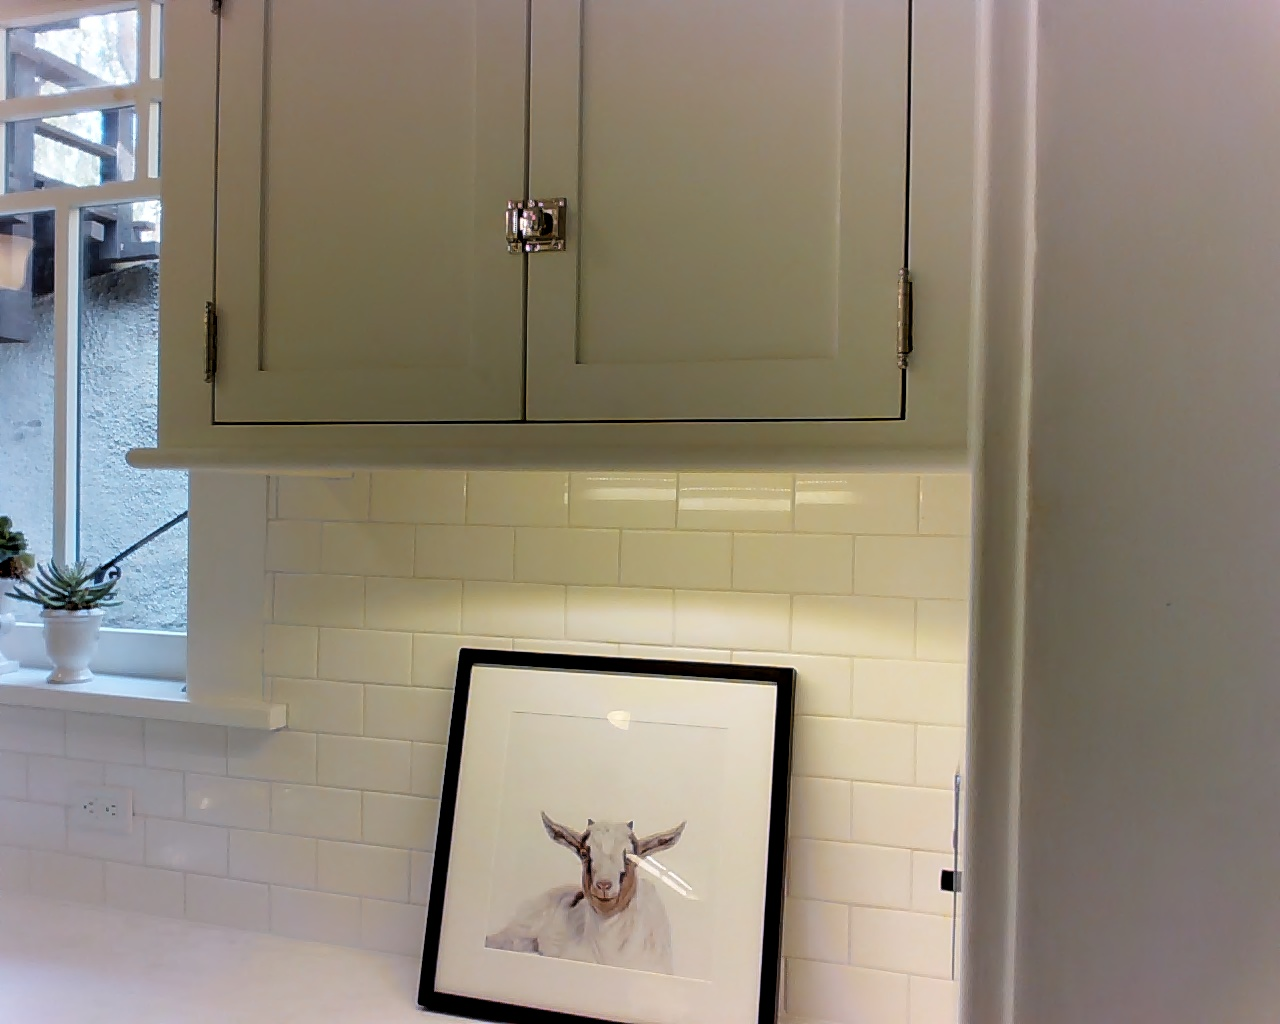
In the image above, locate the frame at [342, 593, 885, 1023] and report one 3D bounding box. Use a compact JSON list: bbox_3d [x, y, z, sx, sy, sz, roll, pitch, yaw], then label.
[{"bbox_3d":[-0.040,0.390,1.320,0.590,0.470,0.110,10,3,13],"label":"frame"}]
